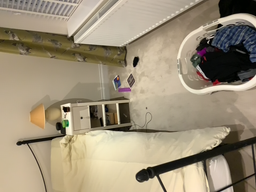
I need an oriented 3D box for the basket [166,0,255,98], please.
[{"bbox_3d":[0.630,-0.290,1.490,0.760,0.240,0.540,9,100,56],"label":"basket"}]
